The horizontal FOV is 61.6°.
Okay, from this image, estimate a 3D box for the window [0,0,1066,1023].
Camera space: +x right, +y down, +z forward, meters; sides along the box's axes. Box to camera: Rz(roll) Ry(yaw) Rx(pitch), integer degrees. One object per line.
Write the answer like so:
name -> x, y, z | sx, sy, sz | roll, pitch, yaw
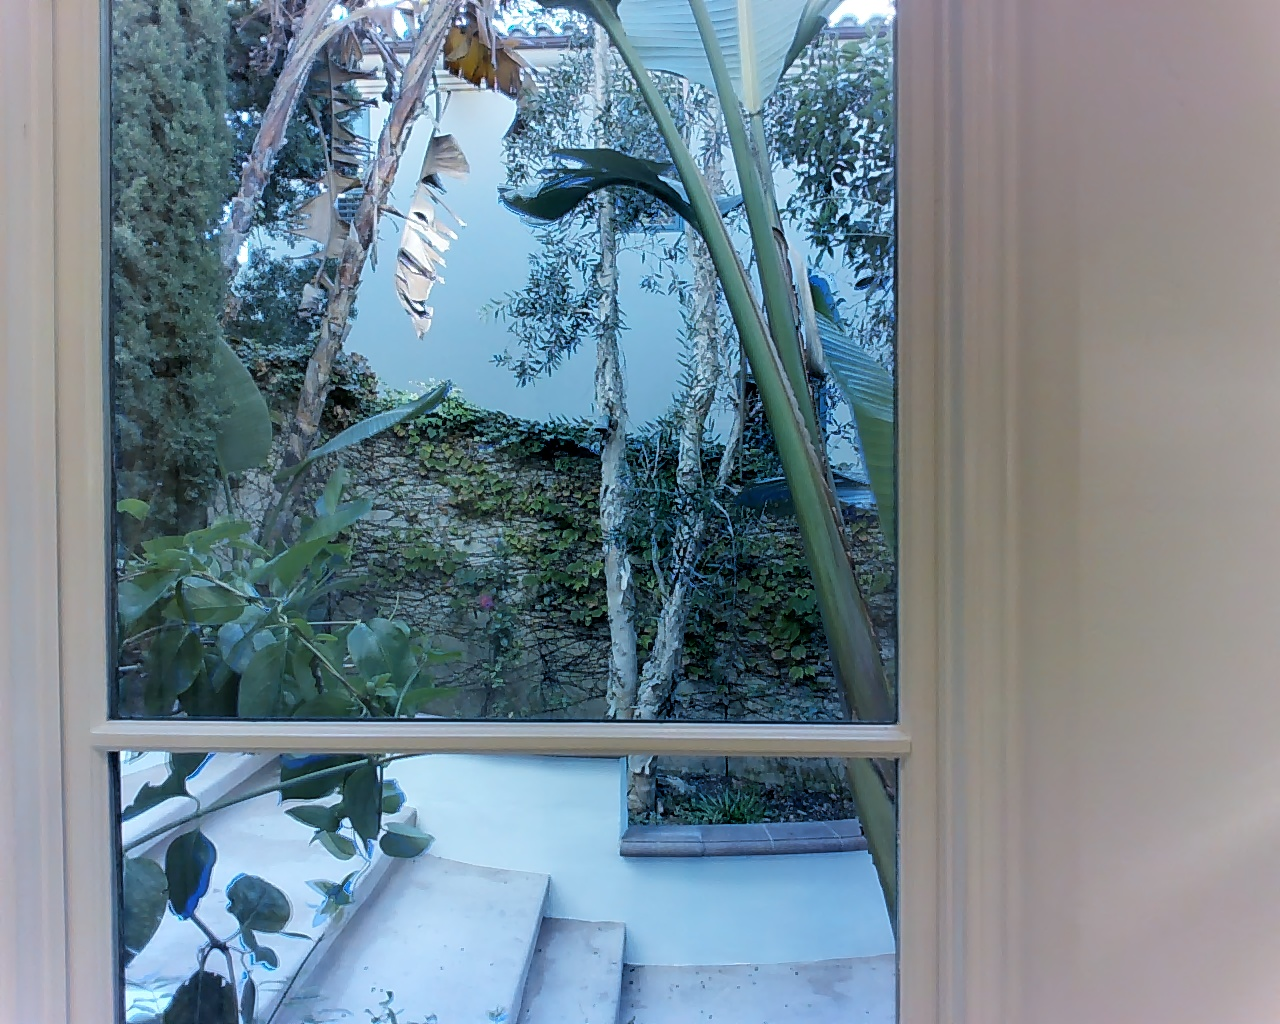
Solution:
window -> -0.100, 0.190, 0.780 | 0.750, 1.891, 0.140 | -1, 0, 5
